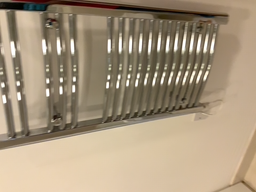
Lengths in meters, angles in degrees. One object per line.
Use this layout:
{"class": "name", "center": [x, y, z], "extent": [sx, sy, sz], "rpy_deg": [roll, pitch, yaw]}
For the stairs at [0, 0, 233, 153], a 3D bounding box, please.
{"class": "stairs", "center": [0.030, -0.080, 0.780], "extent": [0.040, 0.860, 0.440], "rpy_deg": [37, 128, 54]}
